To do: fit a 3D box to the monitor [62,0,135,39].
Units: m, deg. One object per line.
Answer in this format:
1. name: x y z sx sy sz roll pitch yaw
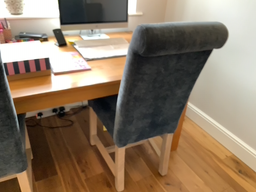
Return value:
1. monitor: -0.220 -0.690 1.690 0.570 0.430 0.040 -5 32 -27
